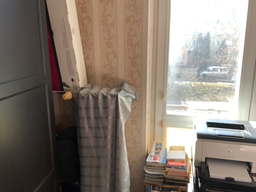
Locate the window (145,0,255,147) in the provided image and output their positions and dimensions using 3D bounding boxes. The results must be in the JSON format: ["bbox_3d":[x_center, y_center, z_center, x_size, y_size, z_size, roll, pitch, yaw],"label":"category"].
[{"bbox_3d":[0.940,-0.530,1.470,1.590,1.850,0.140,3,13,11],"label":"window"}]
